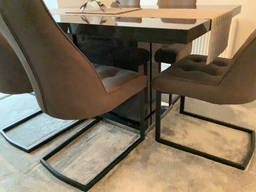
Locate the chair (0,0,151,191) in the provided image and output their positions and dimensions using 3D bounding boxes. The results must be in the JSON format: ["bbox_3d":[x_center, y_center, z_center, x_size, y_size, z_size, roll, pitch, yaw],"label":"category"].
[{"bbox_3d":[-0.250,-0.070,1.110,0.490,0.930,0.630,15,32,31],"label":"chair"}]

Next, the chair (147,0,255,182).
[{"bbox_3d":[0.500,-0.150,1.190,0.620,0.930,0.480,17,33,33],"label":"chair"}]

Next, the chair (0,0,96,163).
[{"bbox_3d":[-0.660,-0.210,1.390,0.490,0.950,0.640,17,32,33],"label":"chair"}]
